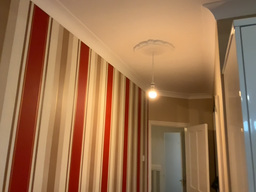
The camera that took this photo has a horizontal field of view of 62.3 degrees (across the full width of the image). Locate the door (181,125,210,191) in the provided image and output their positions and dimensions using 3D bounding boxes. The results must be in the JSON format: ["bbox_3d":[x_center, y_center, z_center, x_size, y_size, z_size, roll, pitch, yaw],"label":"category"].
[{"bbox_3d":[1.090,1.490,3.490,0.100,1.930,0.940,3,-12,-4],"label":"door"}]
